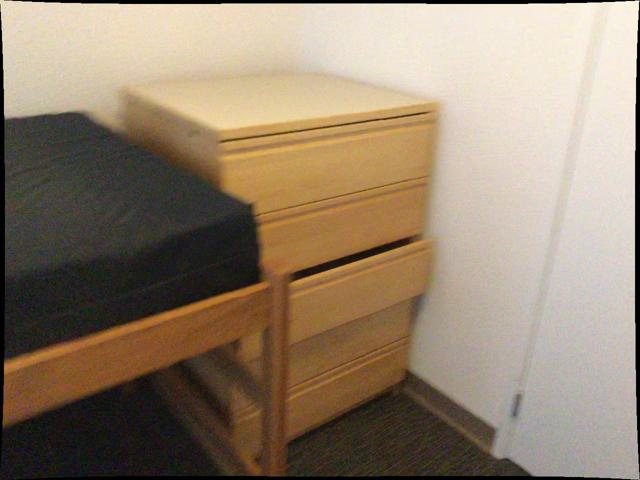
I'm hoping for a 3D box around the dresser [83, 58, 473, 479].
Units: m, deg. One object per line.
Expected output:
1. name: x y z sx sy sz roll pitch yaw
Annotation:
1. dresser: -0.190 0.040 2.010 0.879 1.121 0.820 -15 34 -34
